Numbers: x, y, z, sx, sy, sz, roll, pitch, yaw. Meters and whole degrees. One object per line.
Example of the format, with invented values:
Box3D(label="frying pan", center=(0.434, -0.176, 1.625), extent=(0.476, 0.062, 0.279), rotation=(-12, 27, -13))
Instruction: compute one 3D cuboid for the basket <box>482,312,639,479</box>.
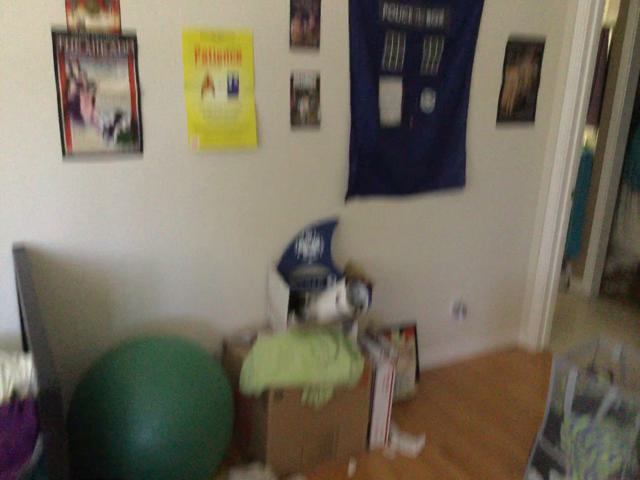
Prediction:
Box3D(label="basket", center=(0.970, 0.670, 2.110), extent=(0.480, 0.620, 0.480), rotation=(-6, 16, -30))

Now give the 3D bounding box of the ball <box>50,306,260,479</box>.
Box3D(label="ball", center=(-0.600, 0.640, 2.100), extent=(0.600, 0.580, 0.510), rotation=(-6, 16, -30))
